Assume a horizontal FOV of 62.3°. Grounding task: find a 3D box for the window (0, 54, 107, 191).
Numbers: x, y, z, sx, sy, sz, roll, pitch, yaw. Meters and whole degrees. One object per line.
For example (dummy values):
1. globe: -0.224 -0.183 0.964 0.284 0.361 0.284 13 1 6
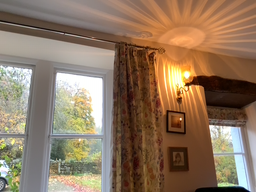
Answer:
1. window: -0.870 0.370 2.030 1.340 1.550 0.090 3 -17 -16
